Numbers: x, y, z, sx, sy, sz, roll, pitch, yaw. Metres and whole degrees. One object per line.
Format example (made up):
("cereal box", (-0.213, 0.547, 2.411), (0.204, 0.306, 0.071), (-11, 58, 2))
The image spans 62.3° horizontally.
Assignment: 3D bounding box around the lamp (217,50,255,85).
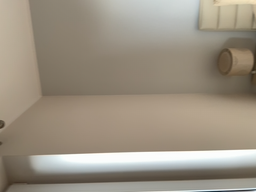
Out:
("lamp", (1.120, -0.280, 2.030), (0.200, 0.410, 0.300), (-97, 7, -71))
